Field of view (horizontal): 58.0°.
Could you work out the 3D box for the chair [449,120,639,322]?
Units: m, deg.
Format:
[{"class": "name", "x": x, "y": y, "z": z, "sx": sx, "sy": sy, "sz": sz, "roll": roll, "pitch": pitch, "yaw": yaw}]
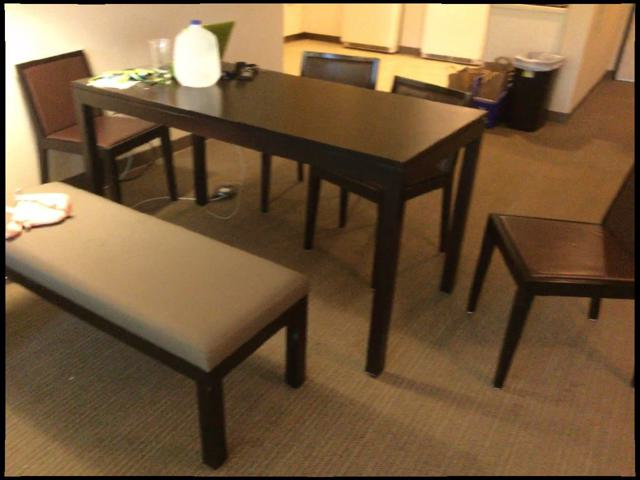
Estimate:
[{"class": "chair", "x": 0.888, "y": -0.090, "z": 1.950, "sx": 0.709, "sy": 0.421, "sz": 0.650, "roll": 3, "pitch": 27, "yaw": -2}]
